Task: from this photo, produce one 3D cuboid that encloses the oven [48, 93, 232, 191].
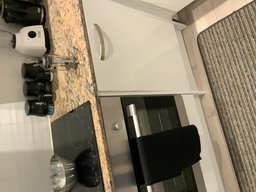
[{"bbox_3d":[0.080,0.360,1.360,0.600,0.910,0.600,-25,72,48],"label":"oven"}]
